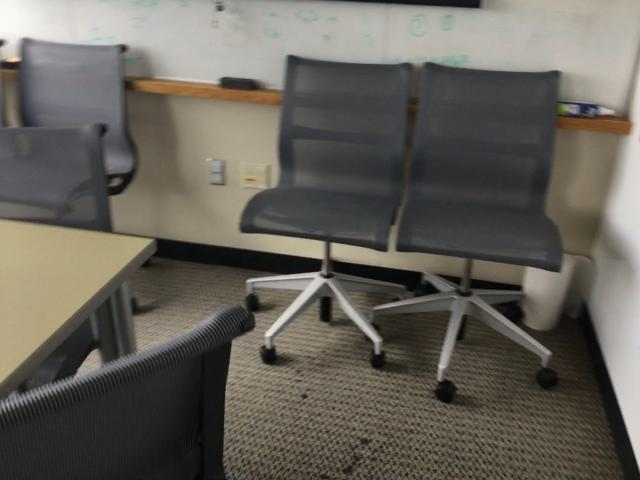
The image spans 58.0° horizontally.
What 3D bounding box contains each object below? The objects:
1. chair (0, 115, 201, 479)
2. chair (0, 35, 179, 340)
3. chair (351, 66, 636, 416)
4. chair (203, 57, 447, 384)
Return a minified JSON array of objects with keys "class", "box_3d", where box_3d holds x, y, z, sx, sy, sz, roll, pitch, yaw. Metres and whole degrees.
[{"class":"chair","box_3d":[-0.700,0.220,1.410,0.640,0.890,0.640,2,26,0]},{"class":"chair","box_3d":[-0.980,-0.230,2.190,0.600,0.940,0.610,7,26,10]},{"class":"chair","box_3d":[0.500,-0.030,1.930,0.650,0.940,0.580,7,26,10]},{"class":"chair","box_3d":[0.040,-0.100,2.040,0.670,0.930,0.580,7,26,10]}]
